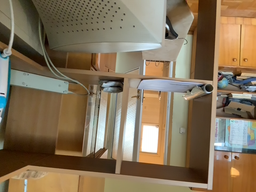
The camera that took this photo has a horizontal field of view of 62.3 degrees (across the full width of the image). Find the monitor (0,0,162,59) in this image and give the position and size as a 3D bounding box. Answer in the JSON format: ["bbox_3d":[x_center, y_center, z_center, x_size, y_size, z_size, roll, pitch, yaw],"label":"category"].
[{"bbox_3d":[-0.140,-0.370,0.610,0.400,0.410,0.440,3,174,19],"label":"monitor"}]
